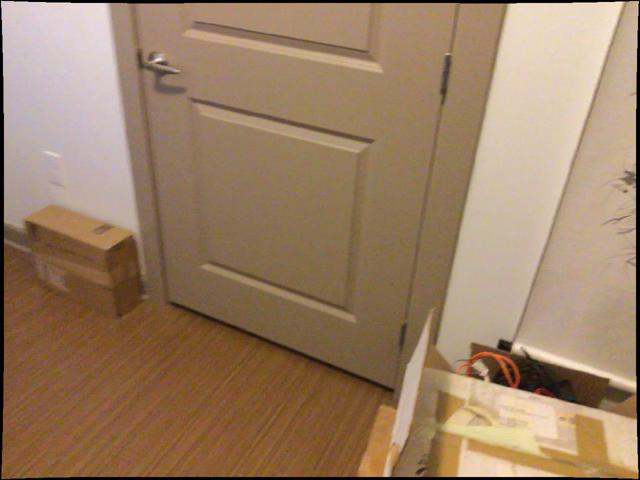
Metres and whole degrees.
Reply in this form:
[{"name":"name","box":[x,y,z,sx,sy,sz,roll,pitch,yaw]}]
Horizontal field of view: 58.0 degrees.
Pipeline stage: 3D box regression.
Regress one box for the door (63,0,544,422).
[{"name":"door","box":[-0.130,-0.561,1.460,1.278,2.174,0.150,17,36,21]}]

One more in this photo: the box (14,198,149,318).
[{"name":"box","box":[-0.868,0.060,2.120,0.419,0.290,0.170,17,36,21]}]
